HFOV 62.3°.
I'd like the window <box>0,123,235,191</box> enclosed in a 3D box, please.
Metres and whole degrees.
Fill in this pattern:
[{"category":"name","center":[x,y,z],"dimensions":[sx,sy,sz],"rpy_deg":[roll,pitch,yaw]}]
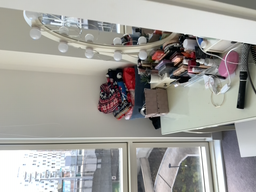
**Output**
[{"category":"window","center":[-0.170,1.120,1.590],"dimensions":[0.250,2.270,1.780],"rpy_deg":[140,130,-68]}]
